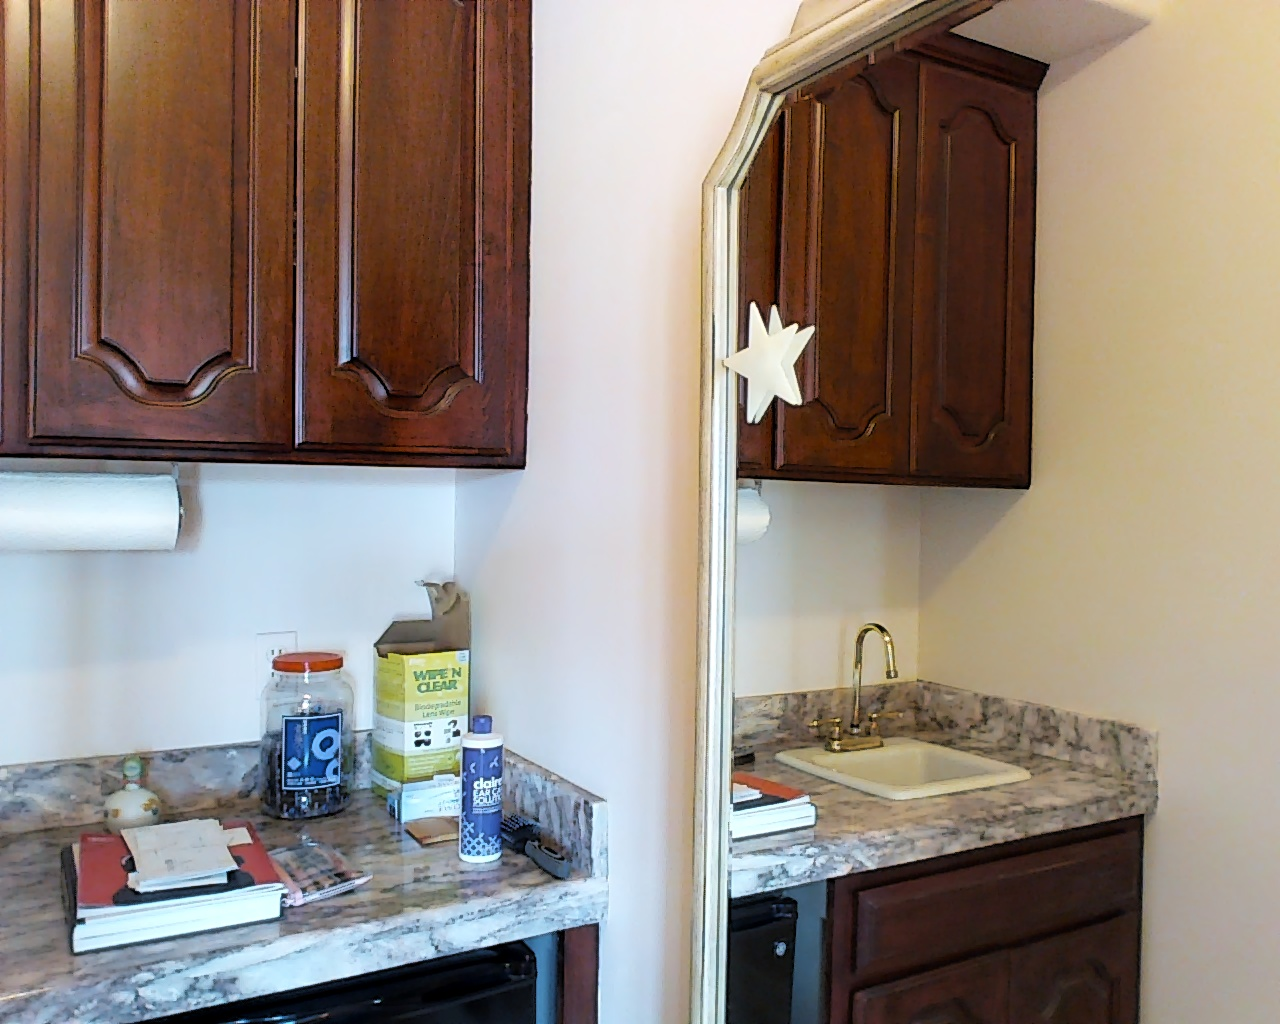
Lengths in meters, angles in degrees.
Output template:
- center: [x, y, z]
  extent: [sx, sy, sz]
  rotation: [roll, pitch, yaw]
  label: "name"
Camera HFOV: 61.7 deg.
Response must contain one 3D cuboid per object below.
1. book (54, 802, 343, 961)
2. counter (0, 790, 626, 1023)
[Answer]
- center: [-0.590, 0.470, 1.410]
  extent: [0.300, 0.060, 0.340]
  rotation: [2, 0, -32]
  label: "book"
- center: [-0.800, 0.540, 1.370]
  extent: [1.440, 0.080, 0.620]
  rotation: [2, 0, -29]
  label: "counter"
